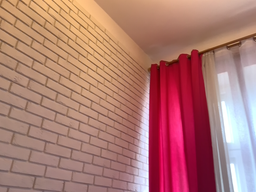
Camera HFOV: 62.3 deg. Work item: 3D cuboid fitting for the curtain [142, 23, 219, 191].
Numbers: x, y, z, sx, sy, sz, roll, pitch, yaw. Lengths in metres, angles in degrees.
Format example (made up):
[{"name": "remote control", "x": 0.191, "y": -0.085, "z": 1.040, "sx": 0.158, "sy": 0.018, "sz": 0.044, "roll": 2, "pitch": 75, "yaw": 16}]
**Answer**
[{"name": "curtain", "x": 0.500, "y": 0.610, "z": 2.140, "sx": 0.670, "sy": 3.040, "sz": 0.240, "roll": -15, "pitch": -32, "yaw": 34}]
